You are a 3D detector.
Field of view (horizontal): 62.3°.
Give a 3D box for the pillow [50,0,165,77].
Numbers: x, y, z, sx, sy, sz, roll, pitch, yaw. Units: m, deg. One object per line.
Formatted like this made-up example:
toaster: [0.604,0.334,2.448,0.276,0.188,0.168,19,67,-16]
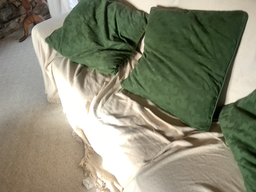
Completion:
pillow: [-0.170,-0.470,1.470,0.520,0.530,0.410,46,77,-22]
